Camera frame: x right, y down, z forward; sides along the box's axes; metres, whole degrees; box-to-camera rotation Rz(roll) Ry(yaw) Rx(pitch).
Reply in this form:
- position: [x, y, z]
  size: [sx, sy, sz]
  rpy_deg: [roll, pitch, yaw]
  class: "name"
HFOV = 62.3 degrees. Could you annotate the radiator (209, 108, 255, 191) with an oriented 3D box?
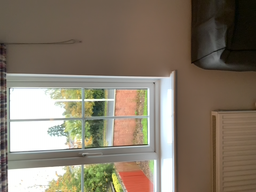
- position: [0.810, 0.440, 1.450]
  size: [0.080, 0.520, 0.710]
  rpy_deg: [-174, 84, -77]
  class: "radiator"
